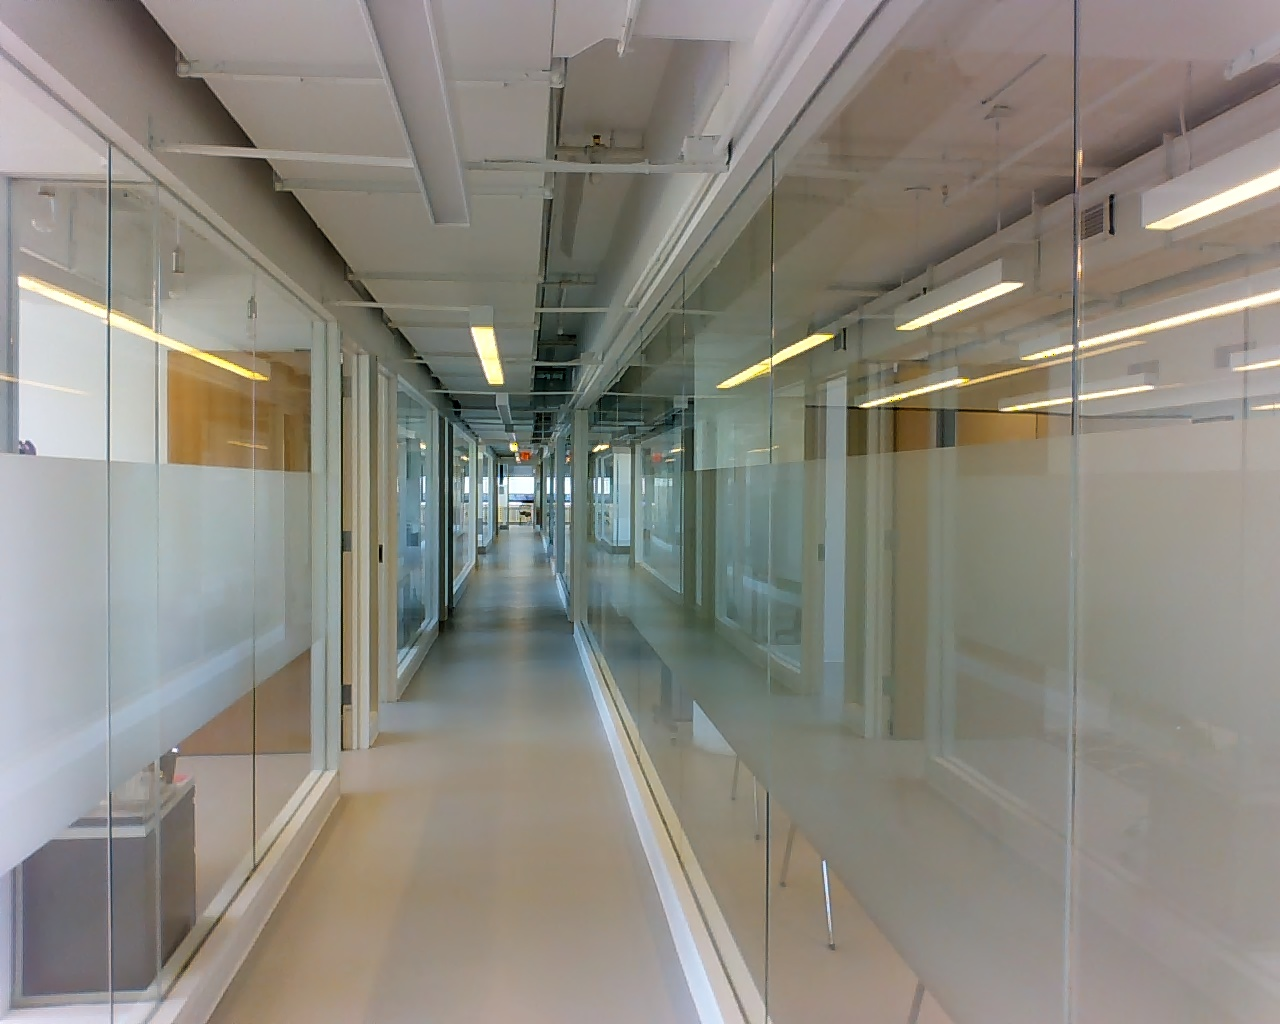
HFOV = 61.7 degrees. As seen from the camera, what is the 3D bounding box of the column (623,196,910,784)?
[{"bbox_3d":[0.630,-0.110,6.110,1.290,2.891,1.530,0,1,-7],"label":"column"}]
